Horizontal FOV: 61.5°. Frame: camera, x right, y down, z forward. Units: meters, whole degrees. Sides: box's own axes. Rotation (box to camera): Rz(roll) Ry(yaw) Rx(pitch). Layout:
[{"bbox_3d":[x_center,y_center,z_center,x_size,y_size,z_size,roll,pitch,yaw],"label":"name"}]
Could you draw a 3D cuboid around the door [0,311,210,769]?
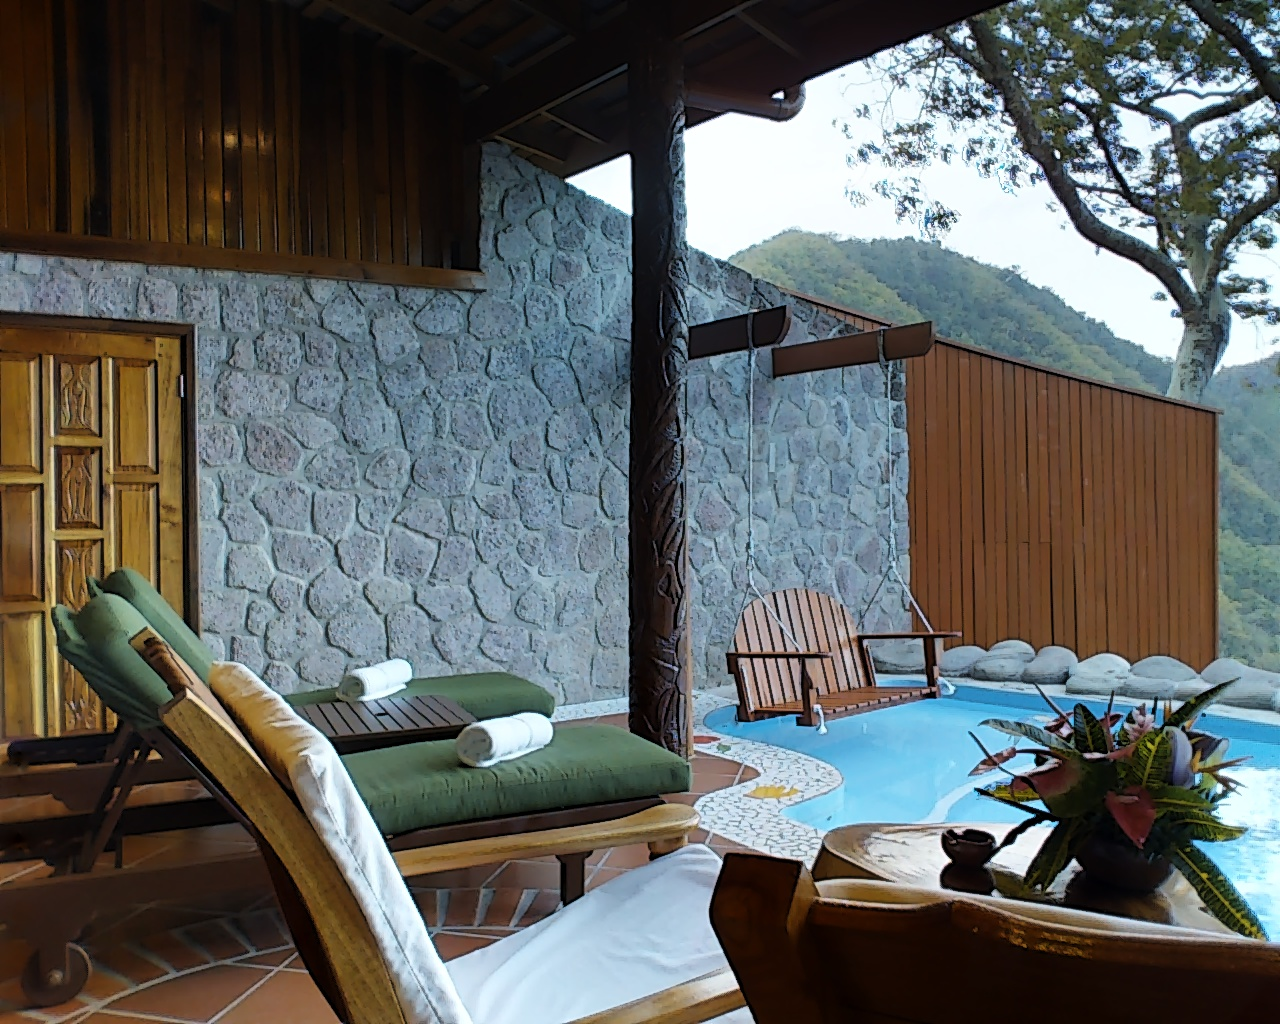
[{"bbox_3d":[-2.580,0.120,5.040,1.020,2.050,0.080,-1,1,-31],"label":"door"}]
